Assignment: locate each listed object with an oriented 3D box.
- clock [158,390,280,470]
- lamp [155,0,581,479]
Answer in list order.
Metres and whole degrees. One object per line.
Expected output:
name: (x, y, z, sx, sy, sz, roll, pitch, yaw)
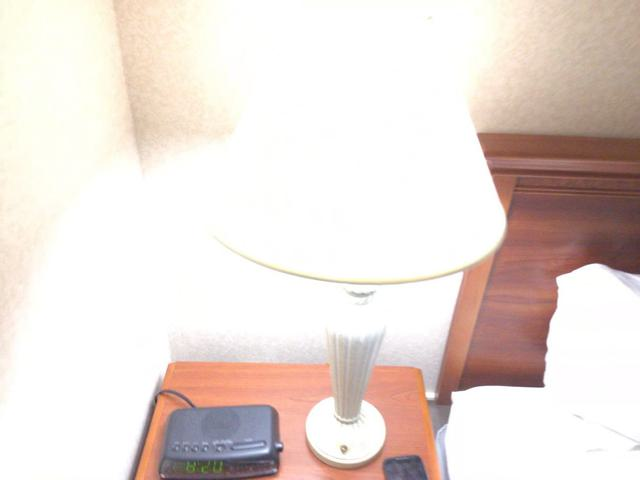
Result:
clock: (-0.180, 0.350, 1.070, 0.200, 0.060, 0.130, 0, 36, 1)
lamp: (0.050, 0.050, 0.930, 0.390, 0.790, 0.420, 0, 36, 1)
